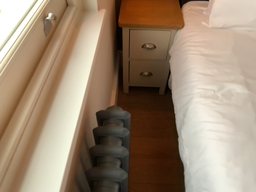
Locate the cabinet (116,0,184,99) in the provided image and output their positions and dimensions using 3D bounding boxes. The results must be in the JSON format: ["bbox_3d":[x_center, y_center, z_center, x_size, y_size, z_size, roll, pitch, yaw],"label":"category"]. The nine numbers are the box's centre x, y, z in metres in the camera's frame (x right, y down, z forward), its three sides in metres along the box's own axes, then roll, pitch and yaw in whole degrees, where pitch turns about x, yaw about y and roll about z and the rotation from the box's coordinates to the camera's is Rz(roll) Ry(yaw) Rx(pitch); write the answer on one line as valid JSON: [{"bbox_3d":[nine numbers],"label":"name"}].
[{"bbox_3d":[0.120,-0.310,1.430,0.350,0.580,0.350,2,49,1],"label":"cabinet"}]
